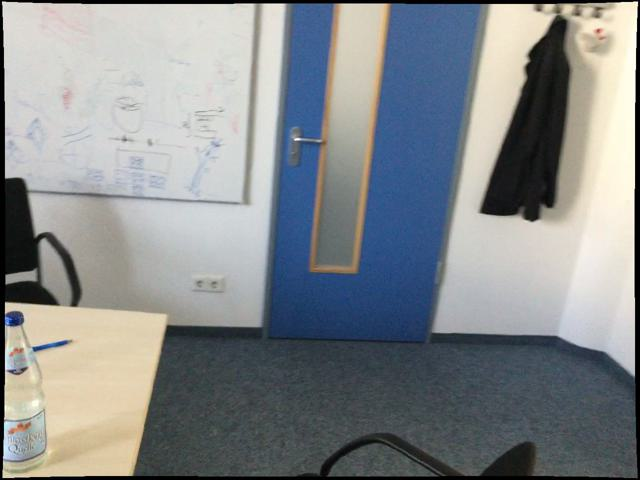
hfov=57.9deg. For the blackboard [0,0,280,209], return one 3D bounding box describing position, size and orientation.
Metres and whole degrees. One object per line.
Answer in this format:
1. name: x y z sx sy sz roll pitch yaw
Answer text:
1. blackboard: -1.249 -0.871 2.350 2.148 1.431 0.130 2 21 -7
